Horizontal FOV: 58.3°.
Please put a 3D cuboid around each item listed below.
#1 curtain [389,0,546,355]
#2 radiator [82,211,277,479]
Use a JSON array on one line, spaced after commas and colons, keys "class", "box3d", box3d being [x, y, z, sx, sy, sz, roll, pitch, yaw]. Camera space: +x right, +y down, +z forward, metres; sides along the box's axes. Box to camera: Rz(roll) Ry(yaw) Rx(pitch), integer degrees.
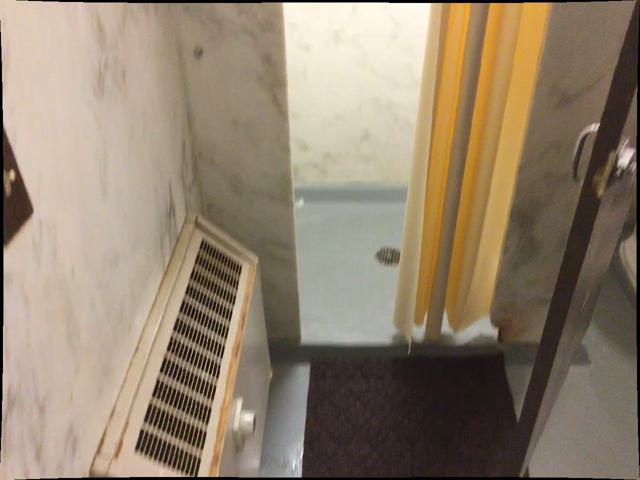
[{"class": "curtain", "box3d": [0.330, -0.470, 1.290, 0.250, 1.871, 0.210, -2, 36, 1]}, {"class": "radiator", "box3d": [-0.230, 0.360, 1.220, 0.200, 0.530, 0.720, -2, 36, 1]}]
